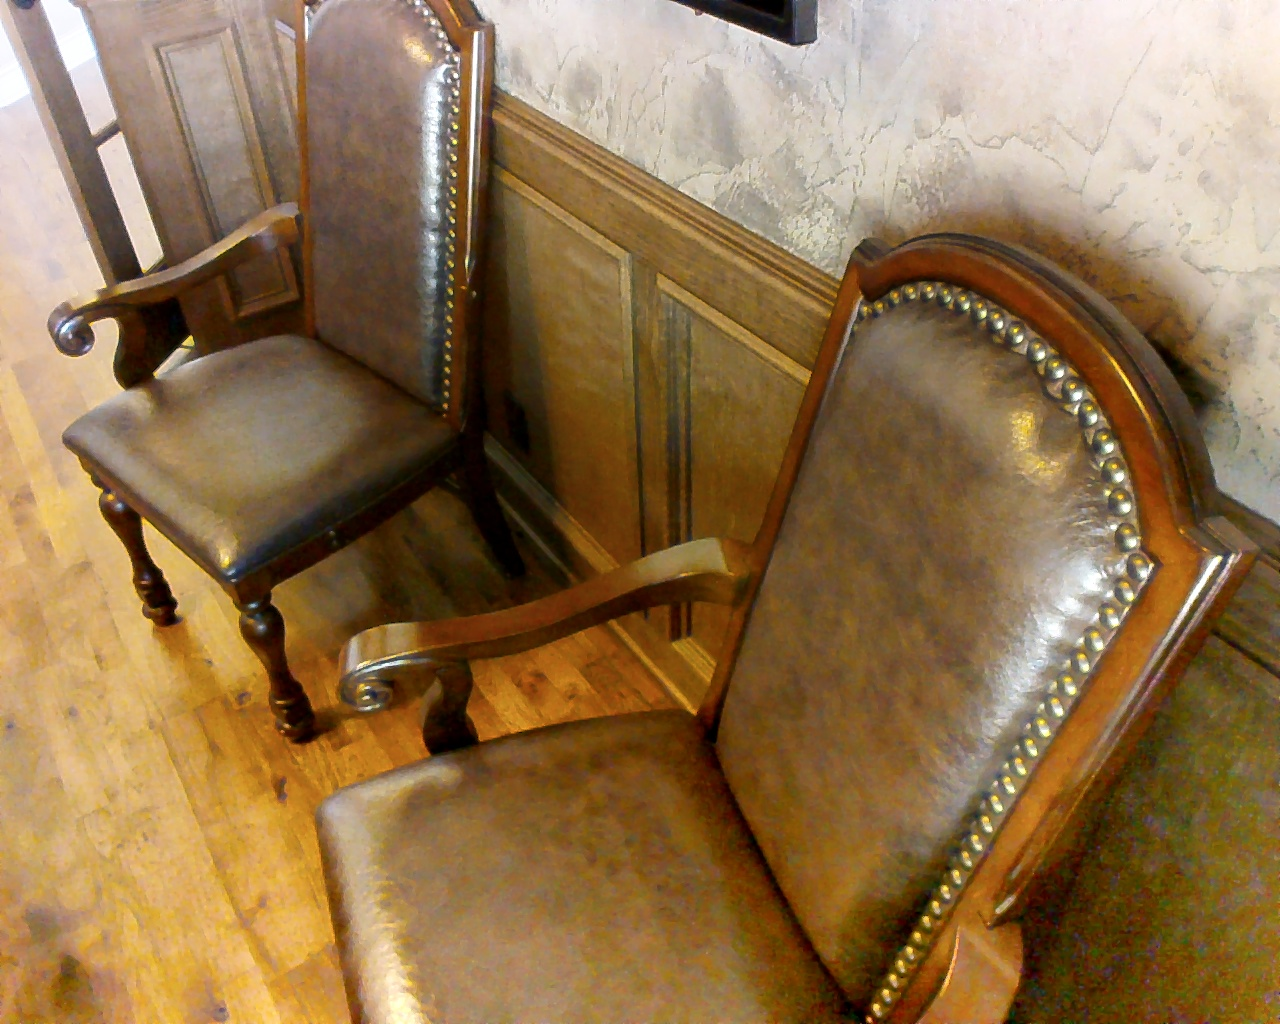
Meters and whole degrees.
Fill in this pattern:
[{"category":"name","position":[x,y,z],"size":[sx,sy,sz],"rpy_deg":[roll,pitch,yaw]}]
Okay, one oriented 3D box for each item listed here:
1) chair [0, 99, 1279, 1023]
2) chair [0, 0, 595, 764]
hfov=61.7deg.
[{"category":"chair","position":[0.050,0.330,1.080],"size":[0.840,1.100,0.740],"rpy_deg":[-16,43,-14]},{"category":"chair","position":[-0.610,-0.310,1.840],"size":[0.660,1.100,0.740],"rpy_deg":[31,51,32]}]
